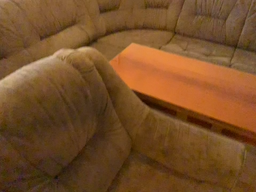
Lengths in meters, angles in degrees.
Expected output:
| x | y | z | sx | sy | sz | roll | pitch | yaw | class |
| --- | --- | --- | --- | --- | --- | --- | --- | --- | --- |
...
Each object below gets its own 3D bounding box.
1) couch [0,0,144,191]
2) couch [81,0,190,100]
| x | y | z | sx | sy | sz | roll | pitch | yaw | class |
| --- | --- | --- | --- | --- | --- | --- | --- | --- | --- |
| -0.640 | -0.110 | 1.410 | 0.850 | 0.910 | 1.480 | 21 | 43 | 21 | couch |
| -0.010 | -0.590 | 2.120 | 0.730 | 0.800 | 0.840 | -10 | 41 | -15 | couch |
